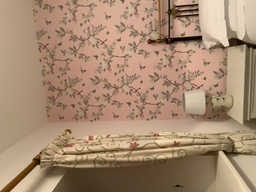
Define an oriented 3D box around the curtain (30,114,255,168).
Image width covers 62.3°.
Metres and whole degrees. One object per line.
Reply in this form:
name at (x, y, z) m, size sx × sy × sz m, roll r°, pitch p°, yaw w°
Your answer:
curtain at (0.460, 0.280, 1.440) m, size 0.590 × 2.030 × 0.100 m, roll -67°, pitch -27°, yaw -76°
